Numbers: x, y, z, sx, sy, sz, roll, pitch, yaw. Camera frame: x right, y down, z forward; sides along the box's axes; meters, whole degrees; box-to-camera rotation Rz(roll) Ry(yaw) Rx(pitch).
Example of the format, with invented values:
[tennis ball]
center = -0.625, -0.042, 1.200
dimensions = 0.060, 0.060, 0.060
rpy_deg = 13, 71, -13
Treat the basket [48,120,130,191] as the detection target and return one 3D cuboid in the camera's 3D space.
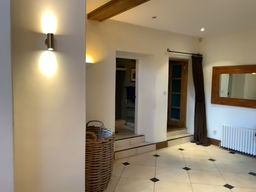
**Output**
[basket]
center = -0.690, 0.950, 3.530
dimensions = 0.920, 0.830, 1.110
rpy_deg = -2, 6, -38
